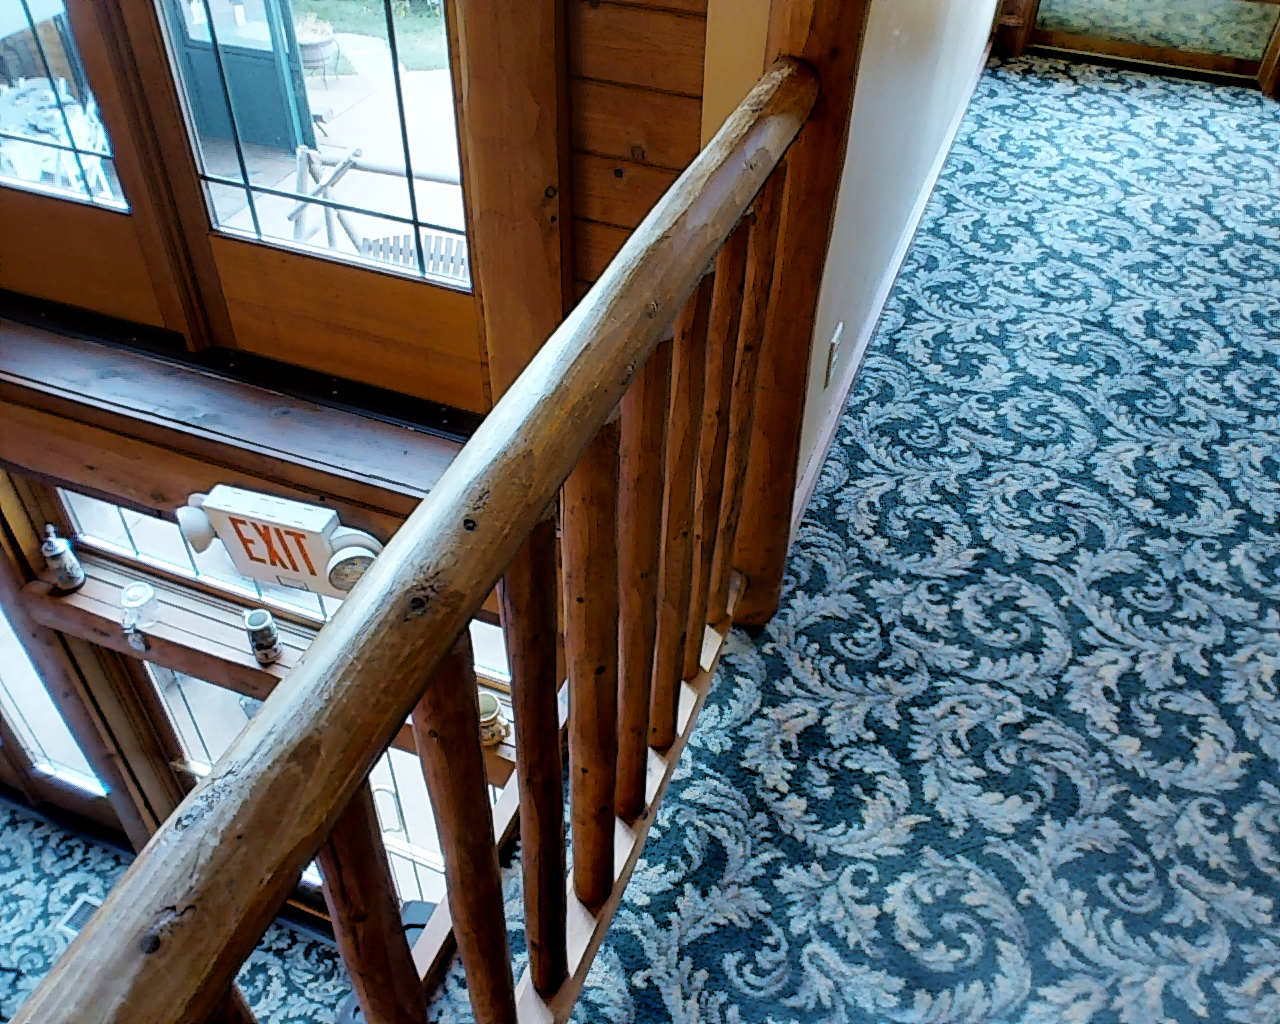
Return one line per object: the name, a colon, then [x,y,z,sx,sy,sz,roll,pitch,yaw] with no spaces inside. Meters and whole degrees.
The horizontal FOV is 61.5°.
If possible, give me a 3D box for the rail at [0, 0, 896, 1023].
rail: [-0.230,0.370,0.870,0.250,1.340,2.430,15,44,15]
